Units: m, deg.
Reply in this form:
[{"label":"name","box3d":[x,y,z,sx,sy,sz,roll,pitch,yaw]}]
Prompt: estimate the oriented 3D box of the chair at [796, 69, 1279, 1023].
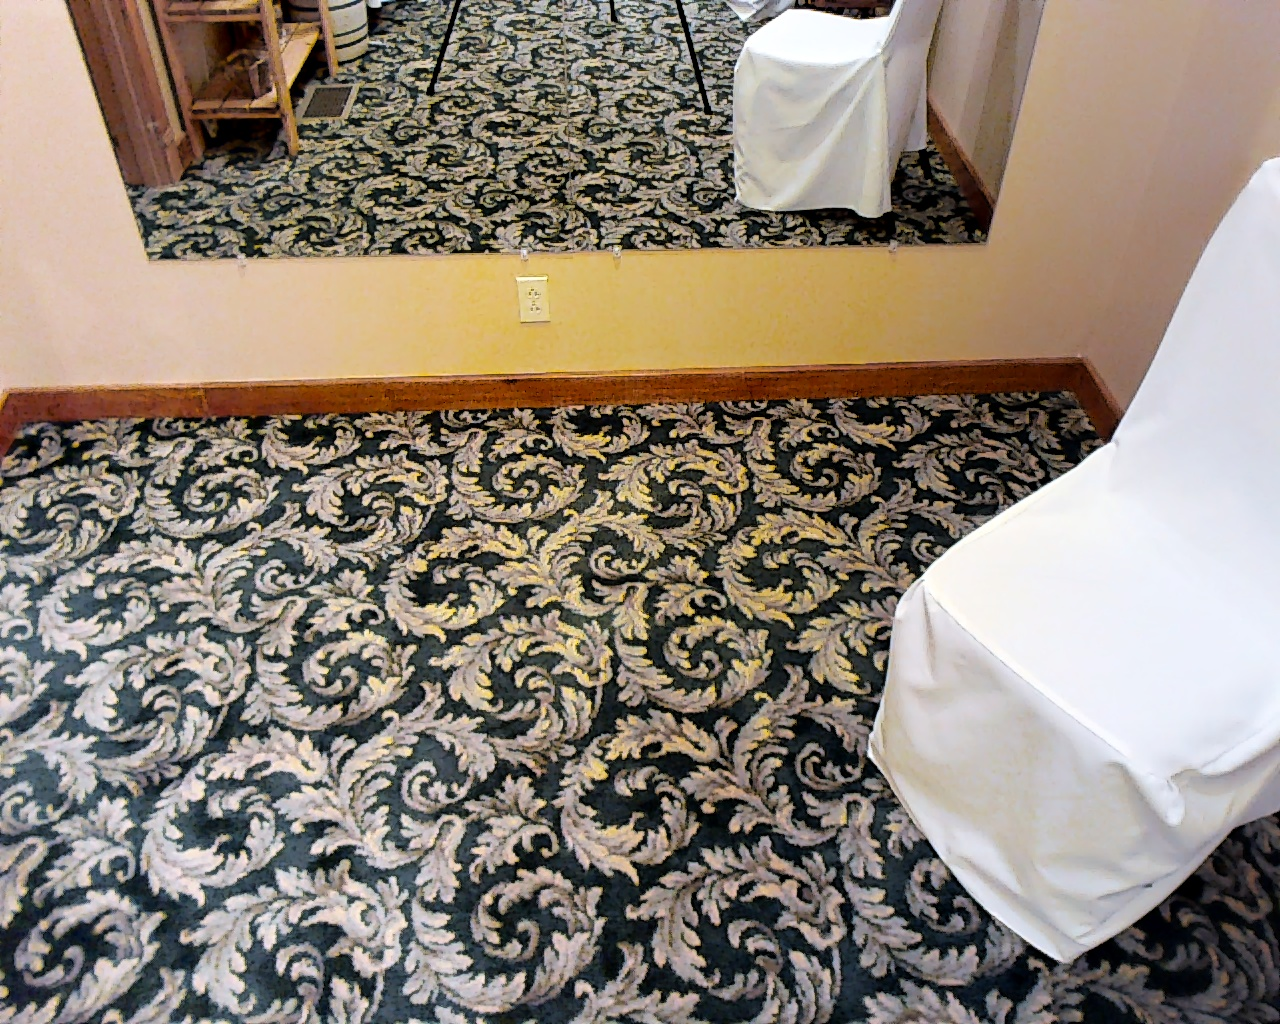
[{"label":"chair","box3d":[0.730,0.080,1.490,0.670,1.040,0.620,-26,49,-26]}]
